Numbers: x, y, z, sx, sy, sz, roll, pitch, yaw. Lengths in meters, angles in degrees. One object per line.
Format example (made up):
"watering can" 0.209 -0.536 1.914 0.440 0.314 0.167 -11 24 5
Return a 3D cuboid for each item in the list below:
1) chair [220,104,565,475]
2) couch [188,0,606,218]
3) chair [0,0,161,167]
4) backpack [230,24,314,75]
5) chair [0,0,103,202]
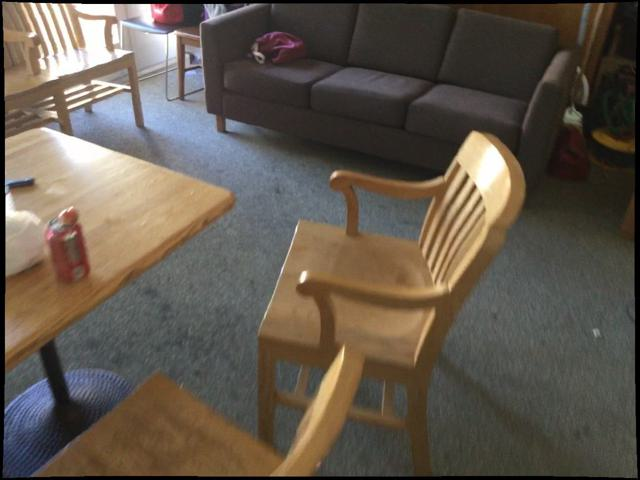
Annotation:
"chair" 0.170 0.120 1.640 0.689 0.781 0.630 4 35 5
"couch" 0.370 -0.901 3.170 1.929 0.730 0.900 18 39 24
"chair" -1.469 -0.991 3.260 0.730 0.801 0.670 18 39 24
"backpack" -0.270 -1.101 3.320 0.340 0.150 0.340 18 39 24
"chair" -1.708 -0.751 2.860 0.720 0.821 0.760 18 39 24
